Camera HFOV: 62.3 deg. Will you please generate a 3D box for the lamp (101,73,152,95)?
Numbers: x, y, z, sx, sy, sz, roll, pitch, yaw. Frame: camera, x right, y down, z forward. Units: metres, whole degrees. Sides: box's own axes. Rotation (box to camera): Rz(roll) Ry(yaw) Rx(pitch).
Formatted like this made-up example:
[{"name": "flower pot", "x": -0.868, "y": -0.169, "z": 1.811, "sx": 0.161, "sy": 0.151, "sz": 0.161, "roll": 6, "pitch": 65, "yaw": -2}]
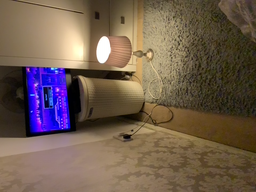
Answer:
[{"name": "lamp", "x": -0.020, "y": -0.120, "z": 2.080, "sx": 0.300, "sy": 0.400, "sz": 0.190, "roll": 8, "pitch": 99, "yaw": 56}]
